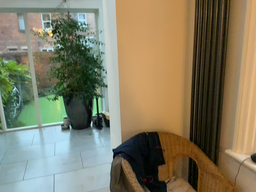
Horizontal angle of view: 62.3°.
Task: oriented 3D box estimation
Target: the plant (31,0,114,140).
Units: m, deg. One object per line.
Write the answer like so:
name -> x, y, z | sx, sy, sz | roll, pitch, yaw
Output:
plant -> -0.800, -0.400, 3.380 | 0.990, 1.970, 0.660 | -4, 15, -10

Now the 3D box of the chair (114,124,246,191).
chair -> 0.280, 0.710, 1.430 | 0.550, 0.790, 0.620 | -7, 15, -22
